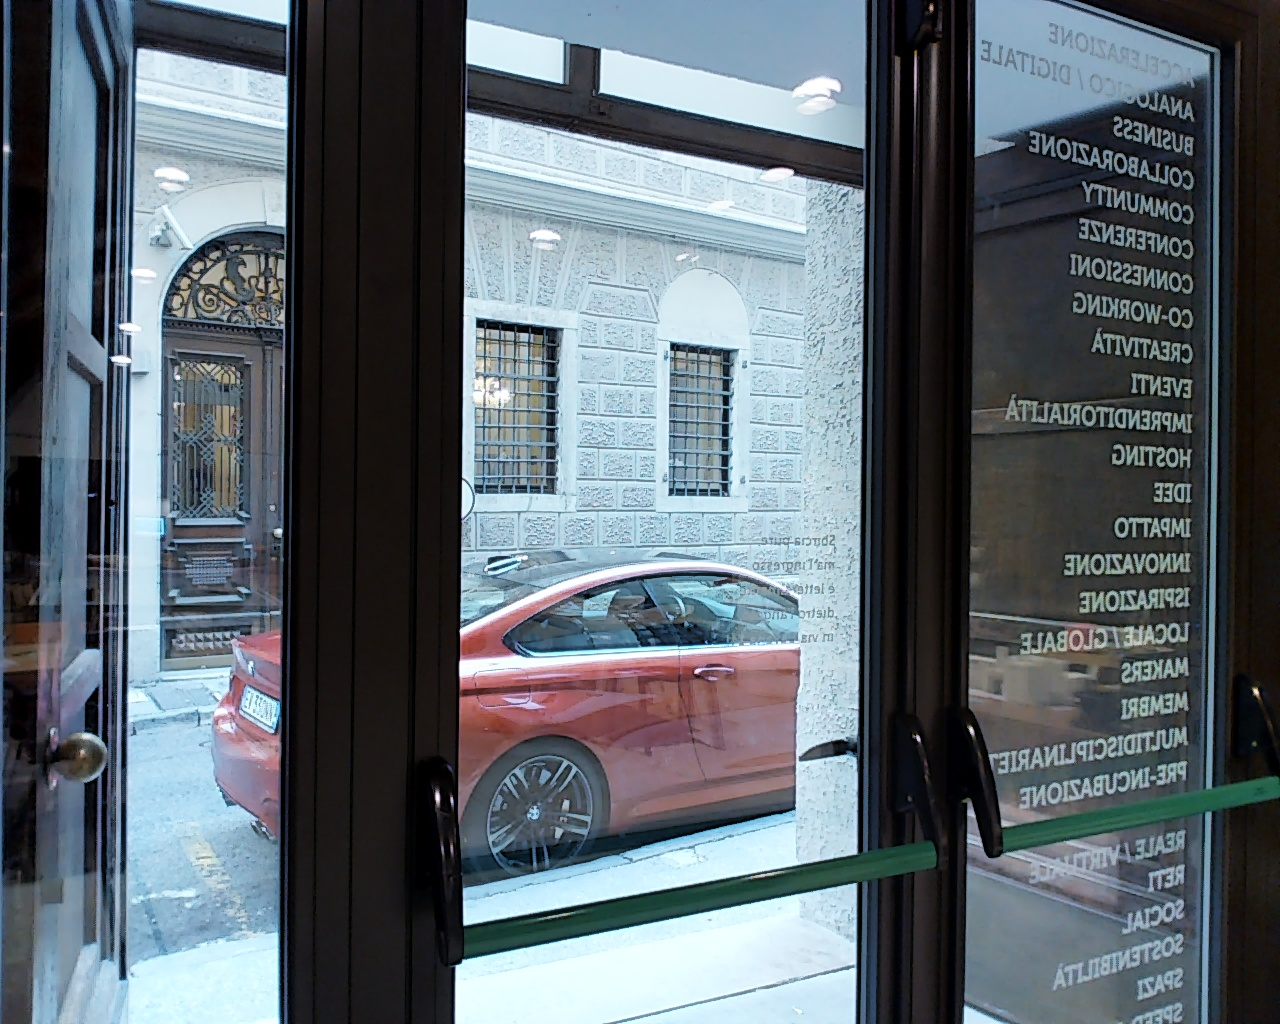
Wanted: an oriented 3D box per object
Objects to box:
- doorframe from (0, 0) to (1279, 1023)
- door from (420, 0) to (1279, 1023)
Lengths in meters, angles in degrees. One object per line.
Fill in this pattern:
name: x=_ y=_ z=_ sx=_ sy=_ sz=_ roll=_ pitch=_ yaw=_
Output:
doorframe: x=0.080 y=0.150 z=2.130 sx=3.179 sy=2.601 sz=1.150 roll=1 pitch=1 yaw=-29
door: x=0.500 y=0.160 z=1.740 sx=1.680 sy=2.211 sz=0.190 roll=1 pitch=1 yaw=-29
